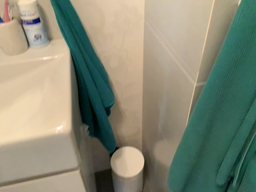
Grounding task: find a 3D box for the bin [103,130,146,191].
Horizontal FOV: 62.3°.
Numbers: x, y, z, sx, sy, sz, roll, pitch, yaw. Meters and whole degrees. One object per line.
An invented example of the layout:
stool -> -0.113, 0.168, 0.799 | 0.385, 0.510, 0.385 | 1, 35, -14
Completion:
bin -> -0.020, 0.380, 1.160 | 0.180, 0.280, 0.230 | -8, 41, -7
